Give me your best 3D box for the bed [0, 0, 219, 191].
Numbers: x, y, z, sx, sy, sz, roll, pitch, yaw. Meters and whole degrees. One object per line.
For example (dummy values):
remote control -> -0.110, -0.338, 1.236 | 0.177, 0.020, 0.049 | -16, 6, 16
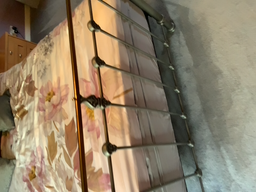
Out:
bed -> -0.600, 0.400, 1.830 | 2.260, 0.690, 1.660 | -21, 70, 34
